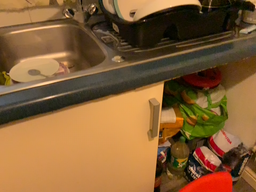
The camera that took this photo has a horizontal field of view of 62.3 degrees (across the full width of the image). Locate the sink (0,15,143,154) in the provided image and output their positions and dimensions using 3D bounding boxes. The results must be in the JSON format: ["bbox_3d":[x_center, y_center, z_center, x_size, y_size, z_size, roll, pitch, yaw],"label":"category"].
[{"bbox_3d":[-0.280,-0.110,0.730,0.440,0.140,0.560,-17,39,-20],"label":"sink"}]
